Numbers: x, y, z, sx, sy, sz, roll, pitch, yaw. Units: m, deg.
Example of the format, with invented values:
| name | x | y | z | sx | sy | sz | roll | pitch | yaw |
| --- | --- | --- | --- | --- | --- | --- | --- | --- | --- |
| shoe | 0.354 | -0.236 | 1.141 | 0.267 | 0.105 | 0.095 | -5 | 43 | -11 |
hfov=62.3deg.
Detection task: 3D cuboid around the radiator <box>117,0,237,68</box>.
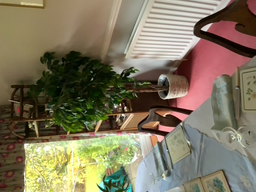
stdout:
| name | x | y | z | sx | sy | sz | roll | pitch | yaw |
| --- | --- | --- | --- | --- | --- | --- | --- | --- | --- |
| radiator | 0.420 | -0.650 | 1.960 | 1.160 | 0.780 | 0.100 | 122 | 141 | -56 |
